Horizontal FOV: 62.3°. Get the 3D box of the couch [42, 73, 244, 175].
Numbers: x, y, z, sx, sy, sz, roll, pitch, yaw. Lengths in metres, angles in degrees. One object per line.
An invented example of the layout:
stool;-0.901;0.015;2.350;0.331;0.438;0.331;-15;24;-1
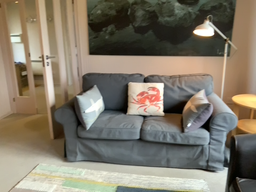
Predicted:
couch;0.150;0.200;2.450;1.800;0.790;0.970;1;15;9
